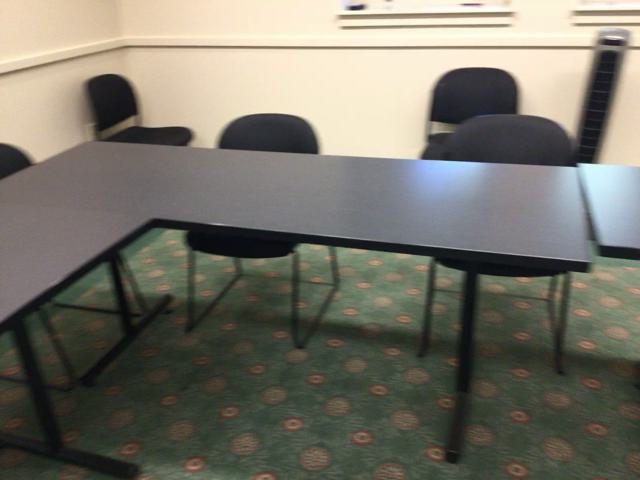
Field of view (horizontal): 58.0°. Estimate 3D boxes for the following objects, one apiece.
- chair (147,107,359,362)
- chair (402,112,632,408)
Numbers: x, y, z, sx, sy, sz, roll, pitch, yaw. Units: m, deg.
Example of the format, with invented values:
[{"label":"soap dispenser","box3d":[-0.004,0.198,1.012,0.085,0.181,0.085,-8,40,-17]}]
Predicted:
[{"label":"chair","box3d":[-0.200,-0.060,2.250,0.550,0.780,0.580,5,26,18]},{"label":"chair","box3d":[0.630,0.020,2.010,0.590,0.780,0.640,4,26,16]}]
